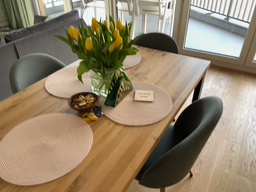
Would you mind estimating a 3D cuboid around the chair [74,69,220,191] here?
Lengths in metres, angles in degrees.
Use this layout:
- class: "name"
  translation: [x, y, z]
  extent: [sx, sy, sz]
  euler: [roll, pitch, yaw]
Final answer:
- class: "chair"
  translation: [0.120, 0.360, 1.310]
  extent: [0.590, 0.800, 0.500]
  euler: [17, 39, 23]

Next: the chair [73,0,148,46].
- class: "chair"
  translation: [-0.320, -1.680, 4.040]
  extent: [1.170, 1.020, 0.770]
  euler: [19, 39, 25]
